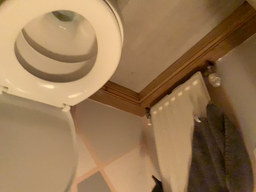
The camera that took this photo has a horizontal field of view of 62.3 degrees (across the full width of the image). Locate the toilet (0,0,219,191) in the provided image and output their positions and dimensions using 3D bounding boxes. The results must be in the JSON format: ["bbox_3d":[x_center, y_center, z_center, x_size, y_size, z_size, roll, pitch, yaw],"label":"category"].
[{"bbox_3d":[-0.260,-0.030,0.710,0.470,0.810,0.700,21,136,-29],"label":"toilet"}]
